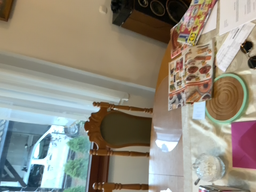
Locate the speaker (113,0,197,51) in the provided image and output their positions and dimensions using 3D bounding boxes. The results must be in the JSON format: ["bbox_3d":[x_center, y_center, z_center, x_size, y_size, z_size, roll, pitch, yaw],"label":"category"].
[{"bbox_3d":[0.310,-0.880,2.360,0.360,0.850,0.410,-29,53,58],"label":"speaker"}]
